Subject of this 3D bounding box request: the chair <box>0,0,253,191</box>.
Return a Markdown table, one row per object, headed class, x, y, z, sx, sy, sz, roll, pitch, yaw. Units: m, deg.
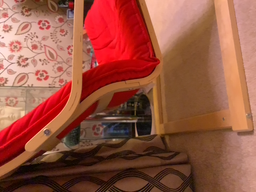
| class | x | y | z | sx | sy | sz | roll | pitch | yaw |
| --- | --- | --- | --- | --- | --- | --- | --- | --- | --- |
| chair | -0.210 | -0.110 | 0.870 | 0.690 | 0.960 | 0.820 | 148 | 122 | -72 |
